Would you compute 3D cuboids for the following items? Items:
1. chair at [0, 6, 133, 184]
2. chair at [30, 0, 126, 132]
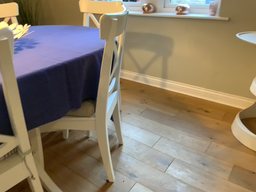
[{"bbox_3d":[-0.280,-0.010,1.210,0.540,0.890,0.410,3,28,10],"label":"chair"},{"bbox_3d":[-0.340,-0.270,1.700,0.430,0.910,0.470,15,32,30],"label":"chair"}]
